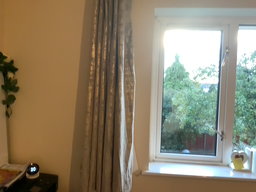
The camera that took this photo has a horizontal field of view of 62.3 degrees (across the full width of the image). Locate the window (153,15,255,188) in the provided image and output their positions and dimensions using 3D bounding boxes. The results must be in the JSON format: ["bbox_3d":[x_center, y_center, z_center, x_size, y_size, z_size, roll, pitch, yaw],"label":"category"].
[{"bbox_3d":[1.060,0.050,1.560,1.700,1.190,0.230,2,3,5],"label":"window"}]
